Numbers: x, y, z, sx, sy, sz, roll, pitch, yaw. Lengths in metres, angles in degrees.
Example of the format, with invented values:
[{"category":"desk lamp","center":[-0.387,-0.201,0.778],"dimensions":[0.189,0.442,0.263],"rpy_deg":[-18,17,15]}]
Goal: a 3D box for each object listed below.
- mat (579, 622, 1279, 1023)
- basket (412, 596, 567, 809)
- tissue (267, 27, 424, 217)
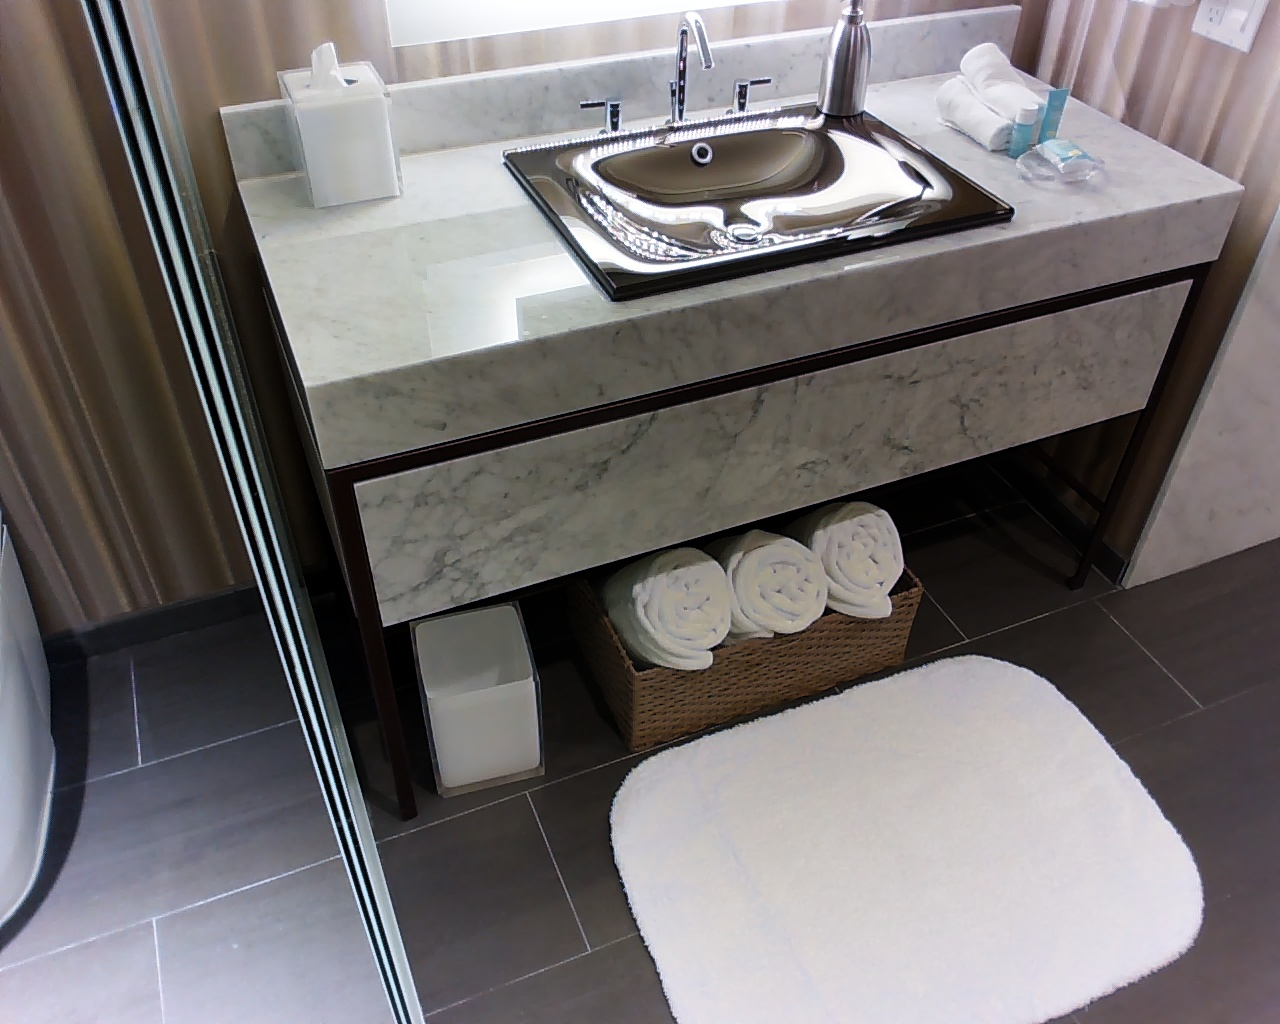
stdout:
[{"category":"mat","center":[0.460,0.550,1.740],"dimensions":[0.940,0.030,0.680],"rpy_deg":[-15,44,-17]},{"category":"basket","center":[-0.250,0.320,1.810],"dimensions":[0.200,0.260,0.190],"rpy_deg":[-12,43,-14]},{"category":"tissue","center":[-0.420,-0.560,1.540],"dimensions":[0.160,0.190,0.170],"rpy_deg":[-15,44,-17]}]
